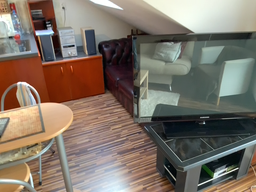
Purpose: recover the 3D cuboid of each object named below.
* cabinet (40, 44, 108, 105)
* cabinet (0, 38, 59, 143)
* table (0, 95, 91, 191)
[{"bbox_3d":[-0.810,-0.360,3.200,0.820,0.610,0.640,-13,30,-21],"label":"cabinet"},{"bbox_3d":[-1.220,-0.090,2.360,0.640,0.900,0.620,-13,30,-21],"label":"cabinet"},{"bbox_3d":[-0.870,0.550,1.290,1.190,0.790,0.420,-12,30,-20],"label":"table"}]
